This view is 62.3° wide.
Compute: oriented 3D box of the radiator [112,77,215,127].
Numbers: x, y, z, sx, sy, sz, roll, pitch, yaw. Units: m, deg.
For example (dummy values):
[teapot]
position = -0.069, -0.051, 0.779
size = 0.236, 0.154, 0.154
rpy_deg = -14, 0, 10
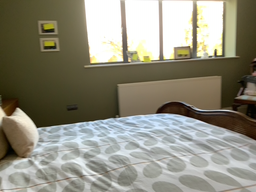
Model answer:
[radiator]
position = 0.640, 0.060, 3.480
size = 1.800, 0.620, 0.120
rpy_deg = -6, 11, -18

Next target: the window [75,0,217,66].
[window]
position = 0.420, -1.090, 3.590
size = 2.490, 1.020, 0.100
rpy_deg = -6, 10, -17
